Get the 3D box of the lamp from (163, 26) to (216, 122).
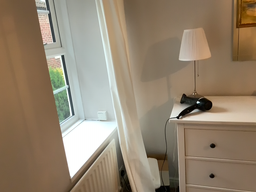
[{"bbox_3d":[0.440,-0.170,1.570,0.290,0.630,0.310,-5,17,3],"label":"lamp"}]
